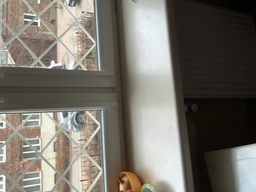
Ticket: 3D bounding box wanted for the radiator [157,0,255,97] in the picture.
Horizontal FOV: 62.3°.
[{"bbox_3d":[0.500,-0.280,1.150,0.110,0.680,0.550,159,109,-64],"label":"radiator"}]
